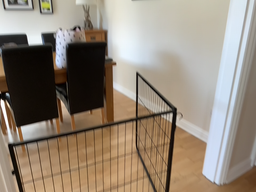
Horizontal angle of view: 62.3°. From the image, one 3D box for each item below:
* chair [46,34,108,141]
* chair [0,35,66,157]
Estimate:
[{"bbox_3d":[-0.570,-0.140,2.410,0.420,1.030,0.620,-13,25,-30],"label":"chair"},{"bbox_3d":[-1.010,-0.050,2.160,0.460,1.030,0.620,-13,25,-30],"label":"chair"}]
